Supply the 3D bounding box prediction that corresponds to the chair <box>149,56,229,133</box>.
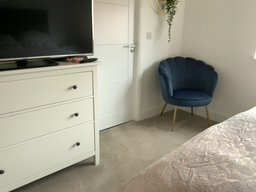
[{"bbox_3d":[0.730,-0.060,2.800,0.740,0.840,0.660,-1,17,-7],"label":"chair"}]
